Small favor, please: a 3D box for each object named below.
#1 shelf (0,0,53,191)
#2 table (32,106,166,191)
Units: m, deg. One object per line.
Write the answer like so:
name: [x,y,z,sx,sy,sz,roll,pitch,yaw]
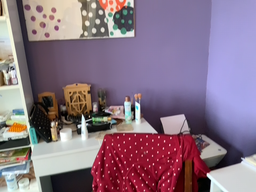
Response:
shelf: [-0.870,0.120,1.240,0.610,1.810,0.290,-7,18,-15]
table: [-0.180,0.560,1.490,0.740,0.790,0.460,-7,18,-15]
